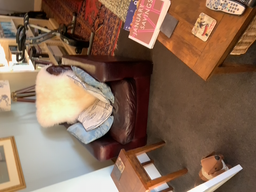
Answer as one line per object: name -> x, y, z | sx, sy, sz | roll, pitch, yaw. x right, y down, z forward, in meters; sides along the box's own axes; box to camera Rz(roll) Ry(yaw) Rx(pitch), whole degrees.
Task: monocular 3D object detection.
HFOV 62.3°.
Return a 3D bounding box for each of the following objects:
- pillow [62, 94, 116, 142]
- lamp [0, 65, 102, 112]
pillow -> -0.400, 0.220, 2.240 | 0.390, 0.420, 0.170 | -68, -2, -54
lamp -> -1.030, -0.130, 2.740 | 0.320, 1.330, 0.400 | 45, 131, 40
